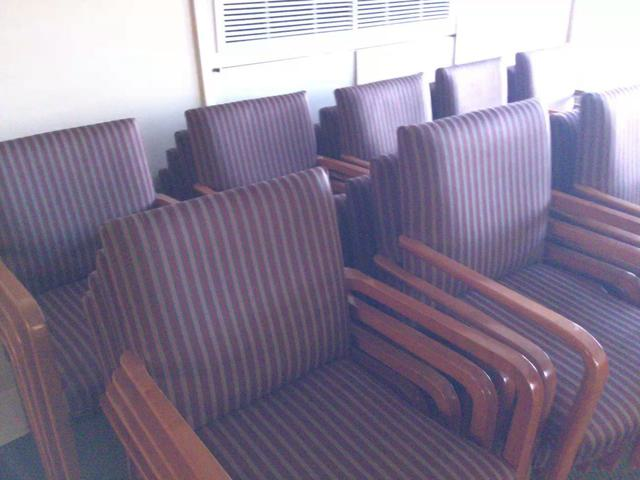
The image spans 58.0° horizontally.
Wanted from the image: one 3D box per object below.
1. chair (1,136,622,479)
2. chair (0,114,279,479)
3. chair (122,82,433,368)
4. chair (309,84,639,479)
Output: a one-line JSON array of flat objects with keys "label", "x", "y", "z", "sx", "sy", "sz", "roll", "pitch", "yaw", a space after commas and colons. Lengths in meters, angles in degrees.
[{"label": "chair", "x": -0.030, "y": 0.440, "z": 1.180, "sx": 0.730, "sy": 1.090, "sz": 0.780, "roll": -19, "pitch": 26, "yaw": -34}, {"label": "chair", "x": -0.550, "y": 0.240, "z": 1.560, "sx": 0.560, "sy": 1.010, "sz": 0.600, "roll": -19, "pitch": 26, "yaw": -34}, {"label": "chair", "x": -0.150, "y": -0.140, "z": 1.980, "sx": 0.660, "sy": 0.660, "sz": 0.810, "roll": -19, "pitch": 26, "yaw": -34}, {"label": "chair", "x": 0.510, "y": 0.280, "z": 1.380, "sx": 0.690, "sy": 1.150, "sz": 0.750, "roll": -19, "pitch": 26, "yaw": -34}]
